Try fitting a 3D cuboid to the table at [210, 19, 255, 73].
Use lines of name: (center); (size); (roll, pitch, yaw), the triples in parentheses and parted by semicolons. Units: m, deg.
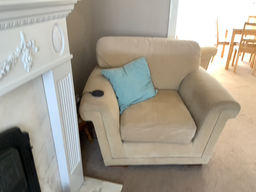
table: (2.220, -0.980, 4.050); (1.100, 0.800, 0.840); (10, 28, 17)
